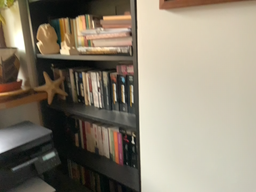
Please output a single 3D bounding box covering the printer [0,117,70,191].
[{"bbox_3d":[-0.580,0.320,1.010,0.330,0.250,0.460,10,20,38],"label":"printer"}]
